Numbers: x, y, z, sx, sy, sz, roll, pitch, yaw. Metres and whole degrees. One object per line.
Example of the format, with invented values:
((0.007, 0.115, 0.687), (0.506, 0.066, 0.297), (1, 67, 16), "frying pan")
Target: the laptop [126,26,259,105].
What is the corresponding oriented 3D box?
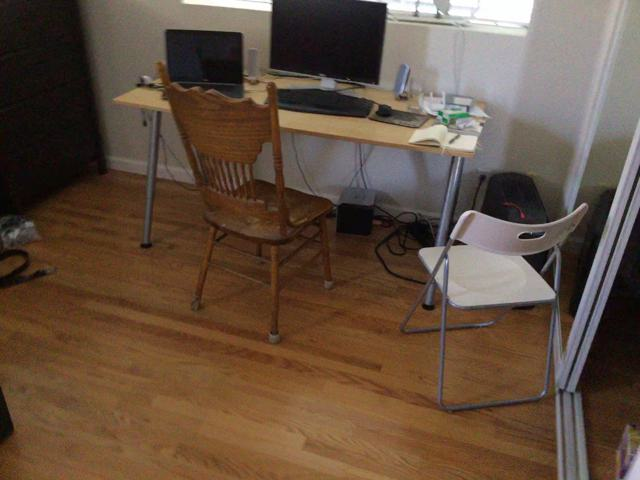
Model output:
((-0.570, -0.830, 2.720), (0.530, 0.240, 0.440), (3, 29, -2), "laptop")
